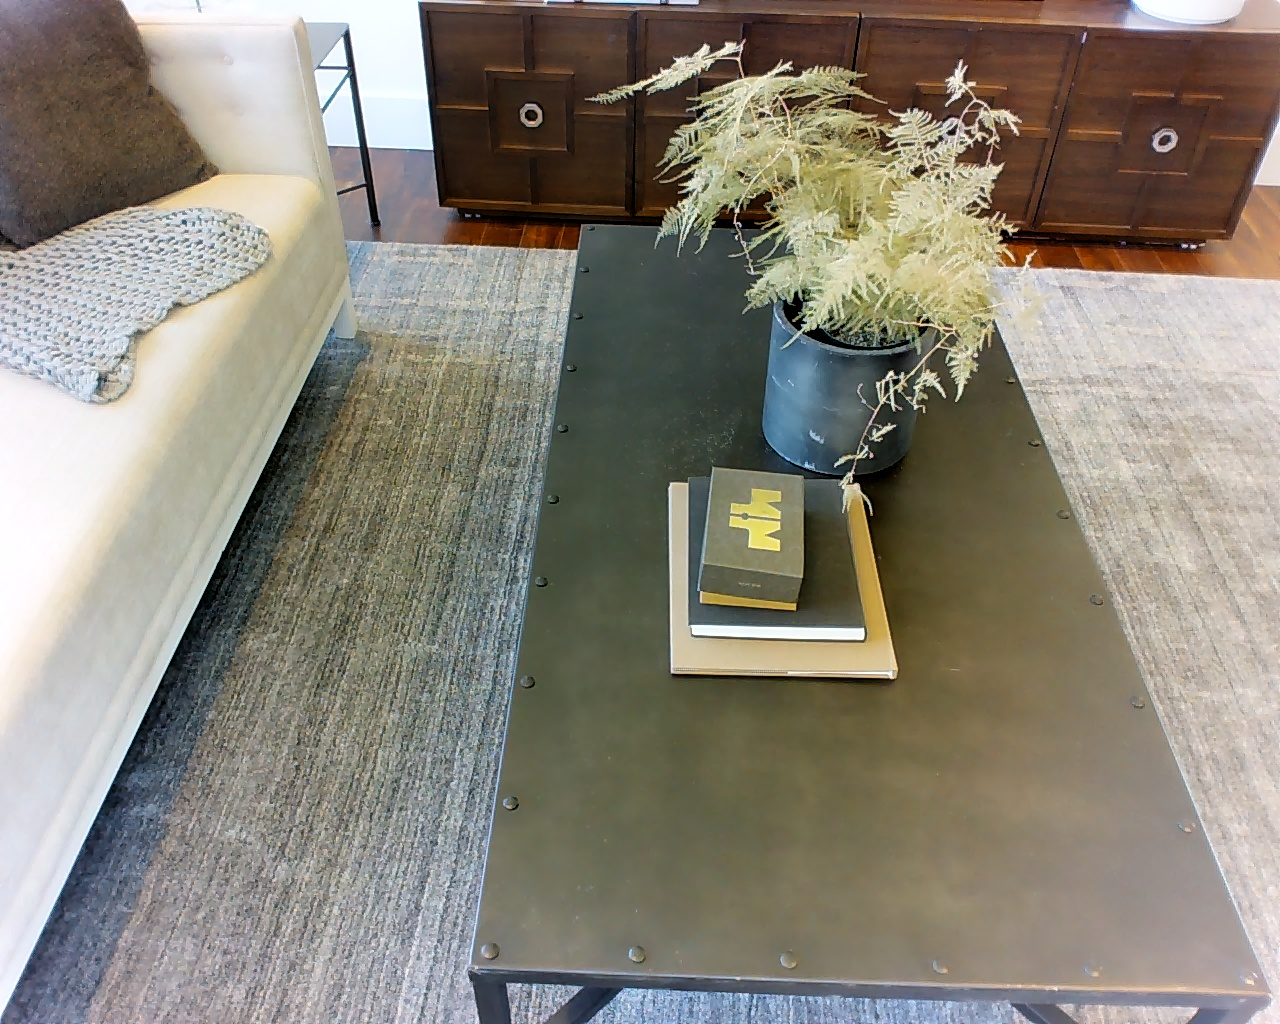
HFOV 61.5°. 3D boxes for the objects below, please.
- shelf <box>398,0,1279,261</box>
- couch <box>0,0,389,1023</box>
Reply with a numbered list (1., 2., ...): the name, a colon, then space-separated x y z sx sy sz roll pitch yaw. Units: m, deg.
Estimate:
1. shelf: 0.640 -1.260 3.310 2.580 0.650 0.560 3 41 2
2. couch: -1.210 -0.130 1.830 0.970 0.870 2.280 2 41 1
